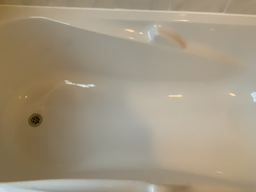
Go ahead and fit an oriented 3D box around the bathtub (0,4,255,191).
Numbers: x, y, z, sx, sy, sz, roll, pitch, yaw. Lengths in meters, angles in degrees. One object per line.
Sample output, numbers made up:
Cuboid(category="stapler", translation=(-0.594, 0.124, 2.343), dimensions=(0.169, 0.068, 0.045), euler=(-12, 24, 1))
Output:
Cuboid(category="bathtub", translation=(0.110, 0.120, 0.910), dimensions=(1.710, 0.540, 0.710), euler=(4, 68, 2))
